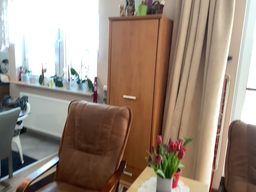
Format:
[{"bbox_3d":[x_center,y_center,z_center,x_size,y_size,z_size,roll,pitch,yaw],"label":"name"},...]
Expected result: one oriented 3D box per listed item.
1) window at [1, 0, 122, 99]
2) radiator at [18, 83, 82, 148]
[{"bbox_3d":[-1.090,-0.870,3.280,1.980,1.550,0.370,7,12,23],"label":"window"},{"bbox_3d":[-1.270,0.270,3.390,1.170,0.830,0.200,8,12,26],"label":"radiator"}]
